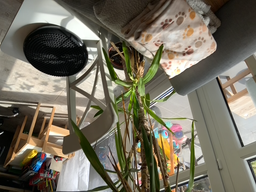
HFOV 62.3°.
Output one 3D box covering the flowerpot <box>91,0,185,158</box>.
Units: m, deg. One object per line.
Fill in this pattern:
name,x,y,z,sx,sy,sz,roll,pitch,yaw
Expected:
flowerpot,0.030,-0.180,1.320,0.360,0.990,0.270,-30,134,29
